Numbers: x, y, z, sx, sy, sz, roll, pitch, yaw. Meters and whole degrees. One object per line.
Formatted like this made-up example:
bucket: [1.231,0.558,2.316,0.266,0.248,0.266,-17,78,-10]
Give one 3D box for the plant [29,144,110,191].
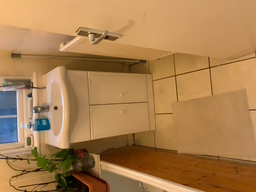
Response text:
plant: [-0.410,0.750,1.470,0.460,0.400,0.730,-10,83,53]
